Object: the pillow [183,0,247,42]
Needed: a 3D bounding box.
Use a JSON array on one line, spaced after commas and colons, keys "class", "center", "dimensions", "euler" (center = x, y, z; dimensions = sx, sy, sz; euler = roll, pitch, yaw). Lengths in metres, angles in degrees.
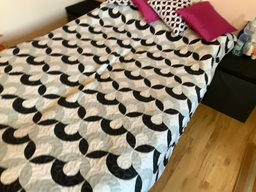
[{"class": "pillow", "center": [0.680, -0.620, 1.640], "dimensions": [0.350, 0.150, 0.430], "euler": [24, 44, 17]}]
